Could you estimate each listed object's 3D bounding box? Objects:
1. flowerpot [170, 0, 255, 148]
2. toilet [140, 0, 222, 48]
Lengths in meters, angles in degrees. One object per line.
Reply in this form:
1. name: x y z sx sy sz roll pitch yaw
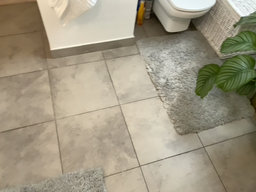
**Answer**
1. flowerpot: 0.900 -0.210 1.410 0.880 0.630 0.710 -13 60 -14
2. toilet: 0.410 -0.780 1.830 0.400 0.400 0.540 -13 60 -14
